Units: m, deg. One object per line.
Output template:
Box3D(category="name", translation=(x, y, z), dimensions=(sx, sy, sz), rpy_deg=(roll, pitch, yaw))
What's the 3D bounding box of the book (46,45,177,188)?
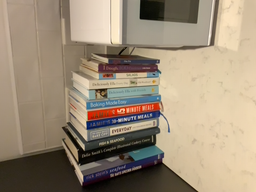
Box3D(category="book", translation=(-0.070, 0.020, 0.700), dimensions=(0.280, 0.310, 0.350), rpy_deg=(27, 120, 56))
